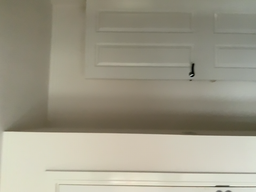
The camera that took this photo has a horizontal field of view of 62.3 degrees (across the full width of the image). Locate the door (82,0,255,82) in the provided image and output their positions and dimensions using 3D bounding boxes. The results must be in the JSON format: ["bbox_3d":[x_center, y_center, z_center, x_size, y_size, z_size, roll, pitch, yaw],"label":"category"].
[{"bbox_3d":[0.580,-0.570,2.020,0.080,1.990,0.850,97,174,-85],"label":"door"}]
